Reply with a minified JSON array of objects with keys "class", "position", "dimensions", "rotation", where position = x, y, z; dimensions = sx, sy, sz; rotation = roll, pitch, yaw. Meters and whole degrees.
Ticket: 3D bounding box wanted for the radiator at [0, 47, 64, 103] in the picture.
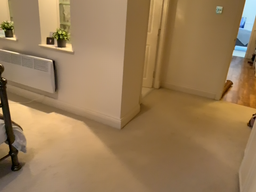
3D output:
[{"class":"radiator","position":[-1.340,-0.310,2.950],"dimensions":[0.990,0.570,0.150],"rotation":[15,26,24]}]
